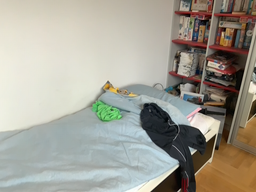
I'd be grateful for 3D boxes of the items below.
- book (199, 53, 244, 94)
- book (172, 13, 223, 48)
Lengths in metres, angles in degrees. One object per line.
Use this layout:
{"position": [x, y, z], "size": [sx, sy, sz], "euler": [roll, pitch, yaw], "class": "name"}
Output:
{"position": [1.110, -0.280, 2.520], "size": [0.340, 0.350, 0.320], "euler": [-22, 33, -39], "class": "book"}
{"position": [0.840, -0.820, 2.610], "size": [0.500, 0.340, 0.220], "euler": [21, 32, 36], "class": "book"}
